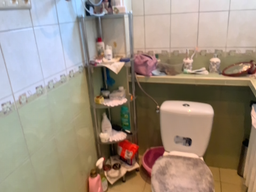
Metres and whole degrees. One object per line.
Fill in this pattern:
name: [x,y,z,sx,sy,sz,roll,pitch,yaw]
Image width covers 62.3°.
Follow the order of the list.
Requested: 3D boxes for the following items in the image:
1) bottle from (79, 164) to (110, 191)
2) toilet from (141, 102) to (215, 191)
bottle: [-0.250,0.700,1.630,0.120,0.250,0.210,7,24,22]
toilet: [0.350,0.520,1.450,0.350,0.740,0.650,4,23,17]
